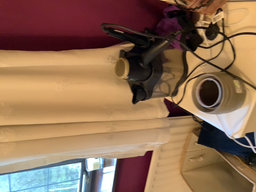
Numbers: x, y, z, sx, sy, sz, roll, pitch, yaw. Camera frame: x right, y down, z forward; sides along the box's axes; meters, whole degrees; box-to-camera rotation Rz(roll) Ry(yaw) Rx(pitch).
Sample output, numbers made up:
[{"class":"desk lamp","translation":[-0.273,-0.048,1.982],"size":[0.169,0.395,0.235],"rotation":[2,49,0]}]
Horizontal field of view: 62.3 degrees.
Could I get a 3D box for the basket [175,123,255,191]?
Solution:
[{"class":"basket","translation":[0.620,0.420,1.210],"size":[0.430,0.470,0.330],"rotation":[37,124,55]}]
